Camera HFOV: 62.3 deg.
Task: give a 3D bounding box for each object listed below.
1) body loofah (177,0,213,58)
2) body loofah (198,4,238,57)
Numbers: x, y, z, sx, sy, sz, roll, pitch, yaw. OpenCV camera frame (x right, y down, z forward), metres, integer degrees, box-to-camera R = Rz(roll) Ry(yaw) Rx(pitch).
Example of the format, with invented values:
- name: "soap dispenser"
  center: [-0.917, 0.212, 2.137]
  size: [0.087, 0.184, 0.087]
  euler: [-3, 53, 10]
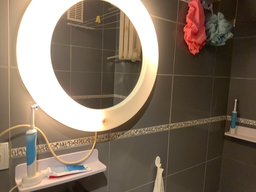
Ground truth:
- name: "body loofah"
  center: [0.340, -0.380, 1.070]
  size: [0.160, 0.360, 0.060]
  euler: [0, 7, -32]
- name: "body loofah"
  center: [0.480, -0.340, 1.140]
  size: [0.120, 0.240, 0.130]
  euler: [0, 7, -29]
